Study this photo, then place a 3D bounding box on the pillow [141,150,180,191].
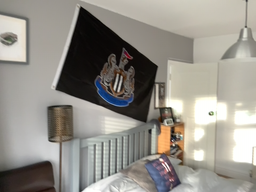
[{"bbox_3d":[0.350,0.790,2.250,0.120,0.330,0.370,-29,-17,39],"label":"pillow"}]
